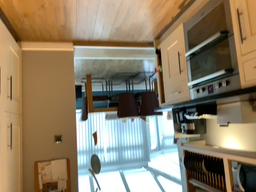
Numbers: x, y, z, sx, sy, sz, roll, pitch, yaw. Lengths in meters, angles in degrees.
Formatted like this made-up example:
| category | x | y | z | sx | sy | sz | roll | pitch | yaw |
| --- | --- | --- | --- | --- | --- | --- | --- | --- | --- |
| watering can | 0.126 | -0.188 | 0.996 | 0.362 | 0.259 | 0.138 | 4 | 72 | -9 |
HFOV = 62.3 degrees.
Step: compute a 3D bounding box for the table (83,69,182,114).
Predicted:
| category | x | y | z | sx | sy | sz | roll | pitch | yaw |
| --- | --- | --- | --- | --- | --- | --- | --- | --- | --- |
| table | 0.040 | -0.080 | 4.650 | 1.950 | 0.770 | 0.940 | -3 | 173 | -13 |
